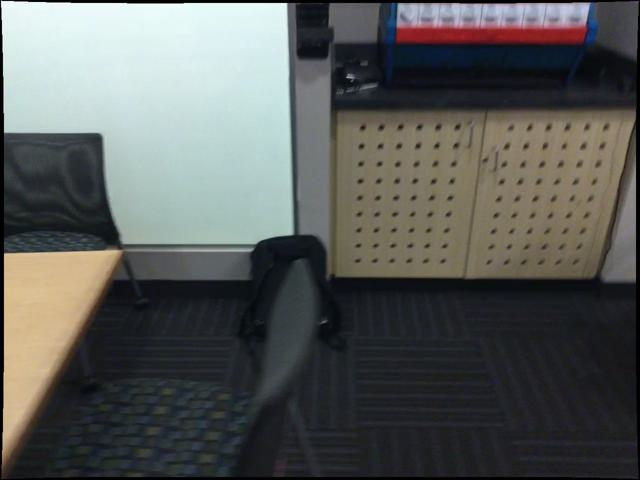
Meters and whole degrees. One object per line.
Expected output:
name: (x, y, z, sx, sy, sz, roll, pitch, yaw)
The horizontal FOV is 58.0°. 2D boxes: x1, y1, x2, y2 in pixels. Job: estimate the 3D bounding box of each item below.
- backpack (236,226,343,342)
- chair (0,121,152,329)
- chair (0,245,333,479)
backpack: (-0.110, 0.170, 2.330, 0.379, 0.321, 0.330, -3, 27, 2)
chair: (-0.998, -0.080, 2.120, 0.499, 0.521, 0.630, -3, 27, 2)
chair: (-0.289, 0.451, 1.300, 0.609, 0.691, 0.510, -3, 27, 2)
